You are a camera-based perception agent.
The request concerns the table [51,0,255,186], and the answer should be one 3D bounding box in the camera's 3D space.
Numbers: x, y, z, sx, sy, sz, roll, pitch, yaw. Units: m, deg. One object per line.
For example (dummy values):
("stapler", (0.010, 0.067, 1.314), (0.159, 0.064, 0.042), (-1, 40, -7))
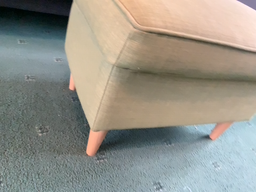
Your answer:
("table", (0.140, -0.090, 0.640), (0.620, 0.430, 0.410), (1, 41, -28))
